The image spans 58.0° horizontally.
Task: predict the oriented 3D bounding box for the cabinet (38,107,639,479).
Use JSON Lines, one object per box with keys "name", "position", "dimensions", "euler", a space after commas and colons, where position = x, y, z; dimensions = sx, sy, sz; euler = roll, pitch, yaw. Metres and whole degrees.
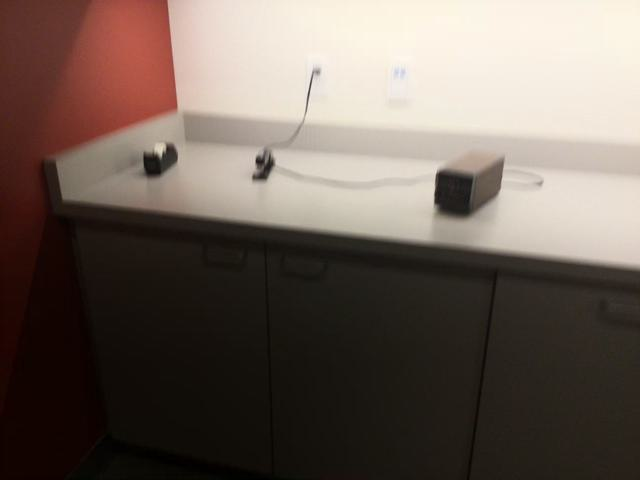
{"name": "cabinet", "position": [0.420, 0.230, 1.500], "dimensions": [2.010, 0.970, 0.630], "euler": [6, 23, 16]}
